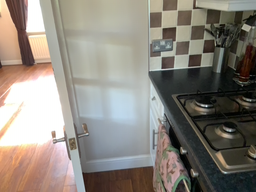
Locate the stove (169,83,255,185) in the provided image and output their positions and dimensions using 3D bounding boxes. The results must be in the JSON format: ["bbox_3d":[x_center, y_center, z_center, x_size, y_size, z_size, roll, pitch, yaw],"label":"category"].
[{"bbox_3d":[0.570,0.090,0.910,0.640,0.030,0.610,-4,26,-3],"label":"stove"}]

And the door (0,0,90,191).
[{"bbox_3d":[-0.360,0.030,1.140,0.120,1.920,0.810,-9,27,-12],"label":"door"}]
